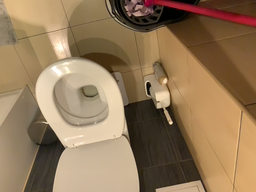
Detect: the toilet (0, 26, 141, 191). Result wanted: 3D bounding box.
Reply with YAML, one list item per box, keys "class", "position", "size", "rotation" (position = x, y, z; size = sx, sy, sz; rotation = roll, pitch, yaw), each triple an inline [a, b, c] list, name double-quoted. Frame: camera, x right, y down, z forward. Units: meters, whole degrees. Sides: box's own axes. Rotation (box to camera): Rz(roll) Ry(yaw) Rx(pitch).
- class: "toilet"
  position: [-0.210, 0.100, 0.950]
  size: [0.390, 0.840, 0.520]
  rotation: [-13, 123, 1]
